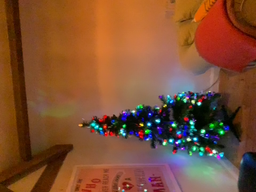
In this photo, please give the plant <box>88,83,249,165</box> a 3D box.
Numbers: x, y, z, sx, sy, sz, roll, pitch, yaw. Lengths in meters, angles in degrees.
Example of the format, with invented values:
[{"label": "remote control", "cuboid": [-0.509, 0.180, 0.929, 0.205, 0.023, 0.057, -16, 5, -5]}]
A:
[{"label": "plant", "cuboid": [0.400, 0.280, 2.500, 0.620, 1.630, 0.780, -106, 16, -78]}]
